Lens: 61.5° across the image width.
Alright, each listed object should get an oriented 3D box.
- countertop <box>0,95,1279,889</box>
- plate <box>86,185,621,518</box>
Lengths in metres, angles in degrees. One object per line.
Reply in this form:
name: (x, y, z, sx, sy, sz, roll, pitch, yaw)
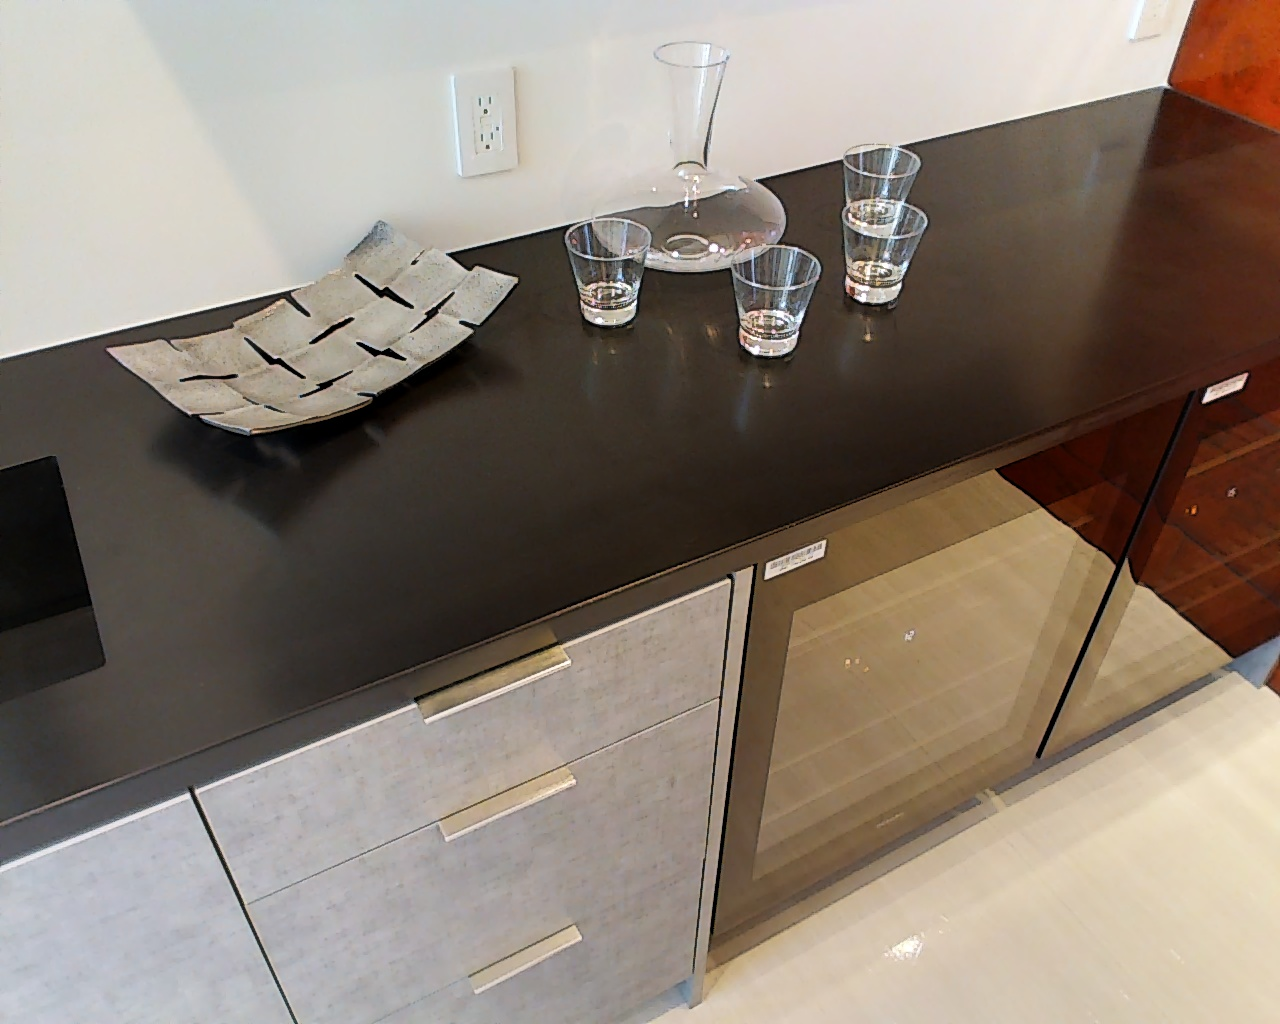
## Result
countertop: (-0.280, -0.060, 1.090, 2.590, 0.070, 0.630, -20, 46, -22)
plate: (-0.310, -0.200, 1.160, 0.470, 0.080, 0.350, -19, 46, -21)
